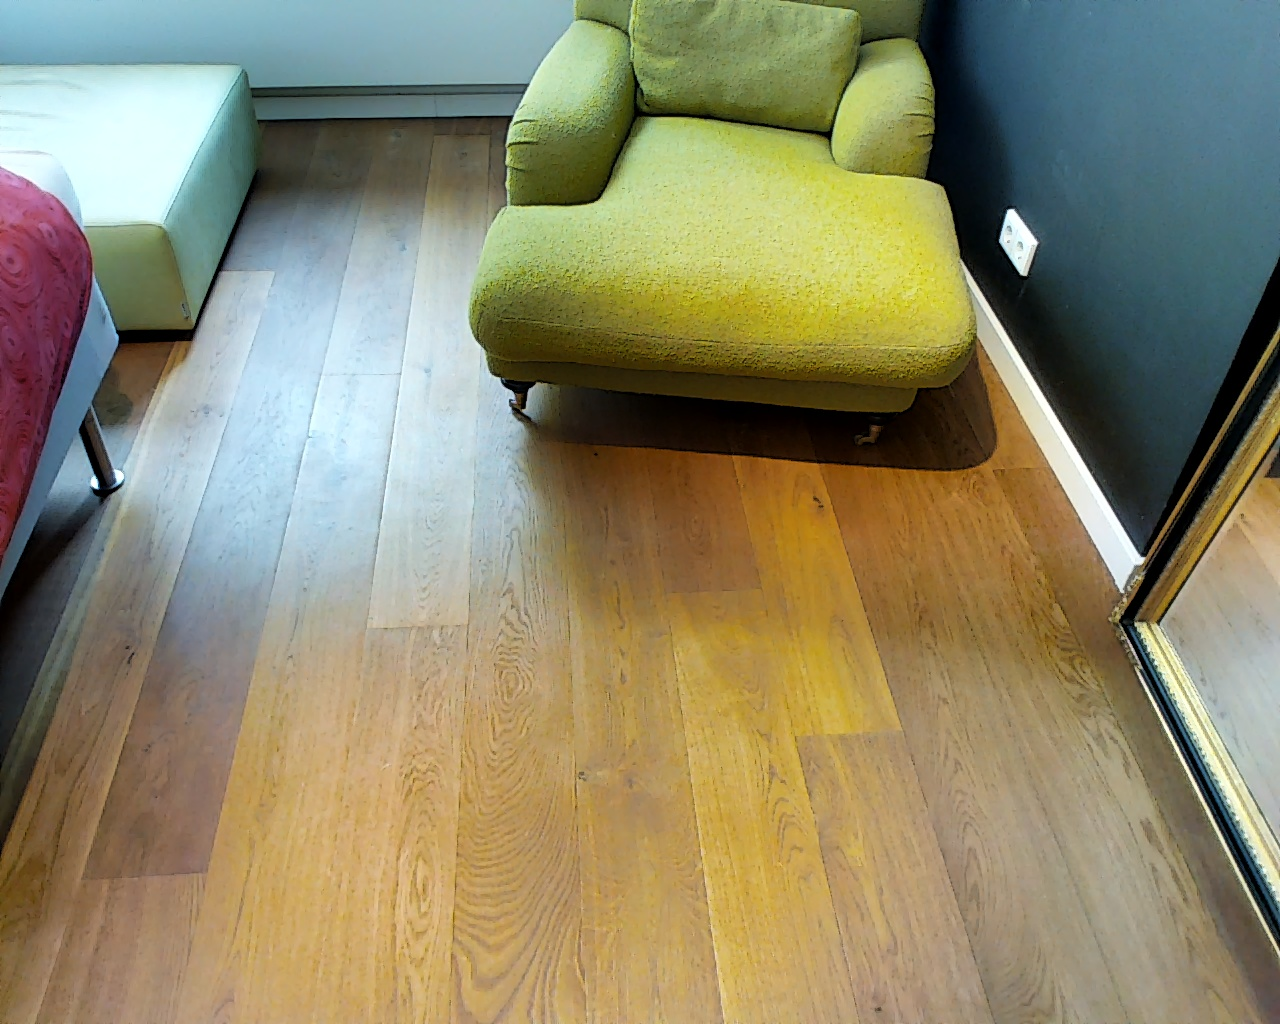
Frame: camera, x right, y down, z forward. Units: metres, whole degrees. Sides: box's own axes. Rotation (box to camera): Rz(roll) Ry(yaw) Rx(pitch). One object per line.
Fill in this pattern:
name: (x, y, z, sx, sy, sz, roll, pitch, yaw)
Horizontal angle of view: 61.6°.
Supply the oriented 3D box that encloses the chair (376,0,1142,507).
chair: (0.240, -0.930, 2.460, 1.110, 0.850, 1.670, 5, 43, 4)
